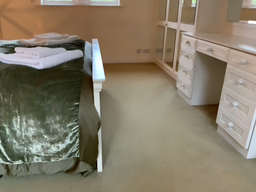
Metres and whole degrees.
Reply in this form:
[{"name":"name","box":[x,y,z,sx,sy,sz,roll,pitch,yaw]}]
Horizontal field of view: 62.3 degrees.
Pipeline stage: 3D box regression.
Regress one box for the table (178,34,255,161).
[{"name":"table","box":[0.870,-0.110,1.950,0.310,0.770,1.170,-3,23,-9]}]
